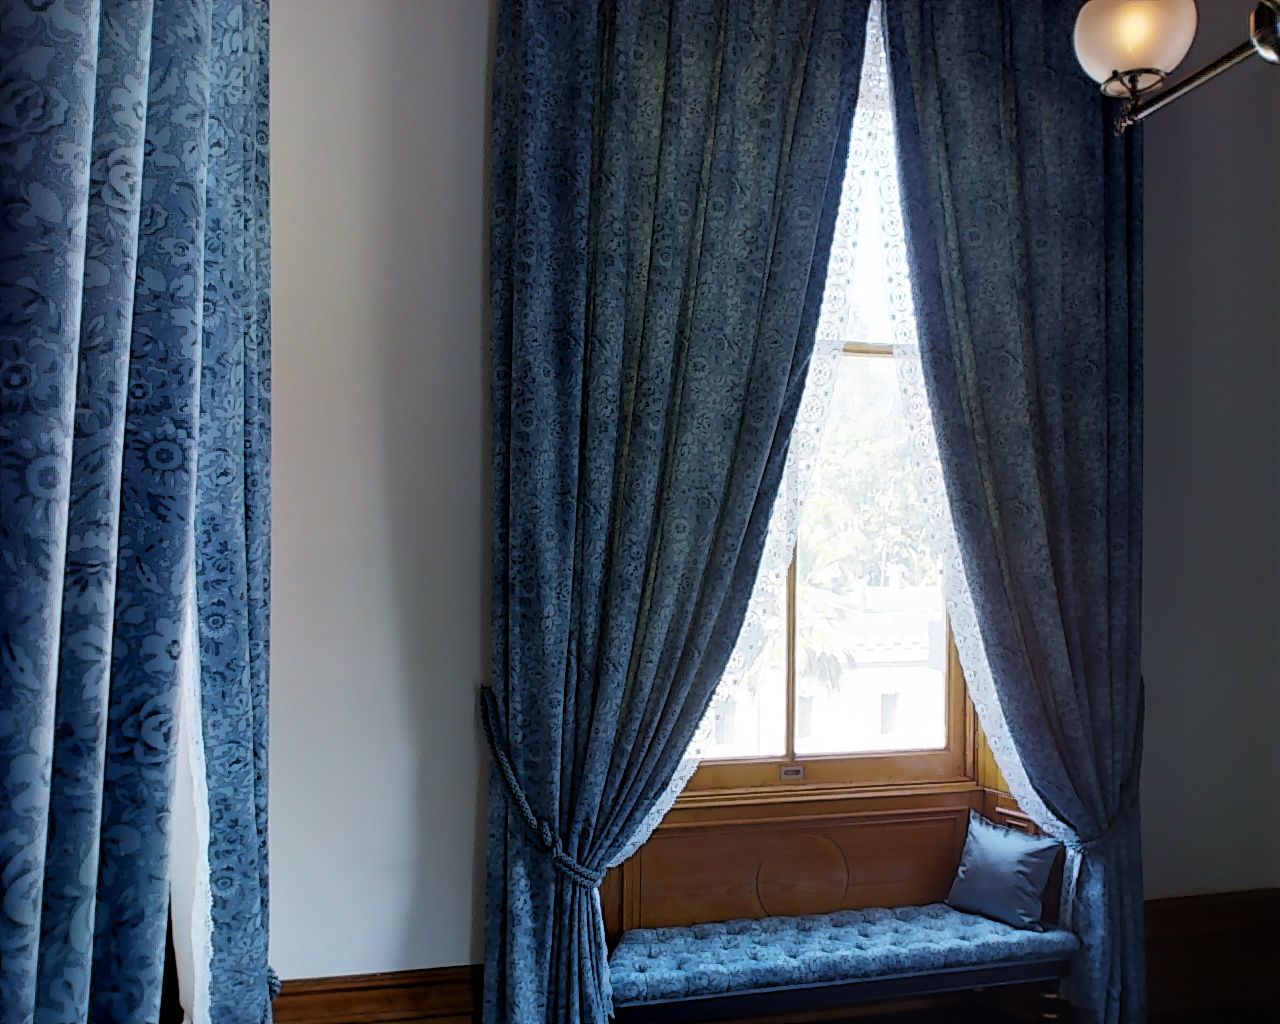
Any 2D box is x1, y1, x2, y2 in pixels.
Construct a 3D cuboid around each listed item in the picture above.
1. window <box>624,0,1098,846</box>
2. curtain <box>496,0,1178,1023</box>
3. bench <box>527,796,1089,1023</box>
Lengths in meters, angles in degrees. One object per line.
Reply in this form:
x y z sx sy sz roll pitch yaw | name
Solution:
0.670 -0.580 3.180 1.430 2.980 0.180 0 0 -13 | window
0.610 -0.190 3.110 2.010 3.320 0.300 0 0 -16 | curtain
0.500 1.260 3.240 1.630 0.600 0.430 0 0 -13 | bench
